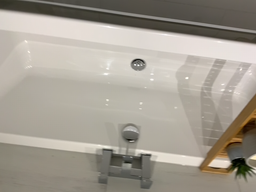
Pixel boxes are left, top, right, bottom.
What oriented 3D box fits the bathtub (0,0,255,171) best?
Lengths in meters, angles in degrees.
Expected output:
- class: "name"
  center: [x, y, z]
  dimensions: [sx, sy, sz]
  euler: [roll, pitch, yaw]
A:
- class: "bathtub"
  center: [0.060, -0.140, 0.950]
  dimensions: [1.670, 0.560, 0.690]
  euler: [7, 138, -2]
